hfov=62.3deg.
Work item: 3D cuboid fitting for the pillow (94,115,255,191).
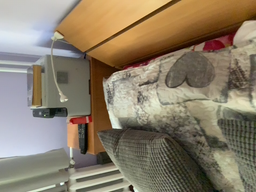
[{"bbox_3d":[0.140,0.310,0.800,0.190,0.430,0.530,38,153,-29],"label":"pillow"}]
